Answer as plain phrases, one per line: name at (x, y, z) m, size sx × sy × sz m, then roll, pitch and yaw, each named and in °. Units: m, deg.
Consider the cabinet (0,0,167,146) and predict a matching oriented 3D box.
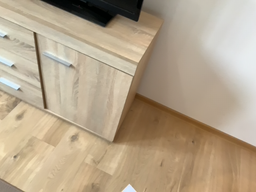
cabinet at (-0.410, -0.270, 1.310) m, size 1.010 × 0.730 × 0.470 m, roll 25°, pitch 49°, yaw 6°
